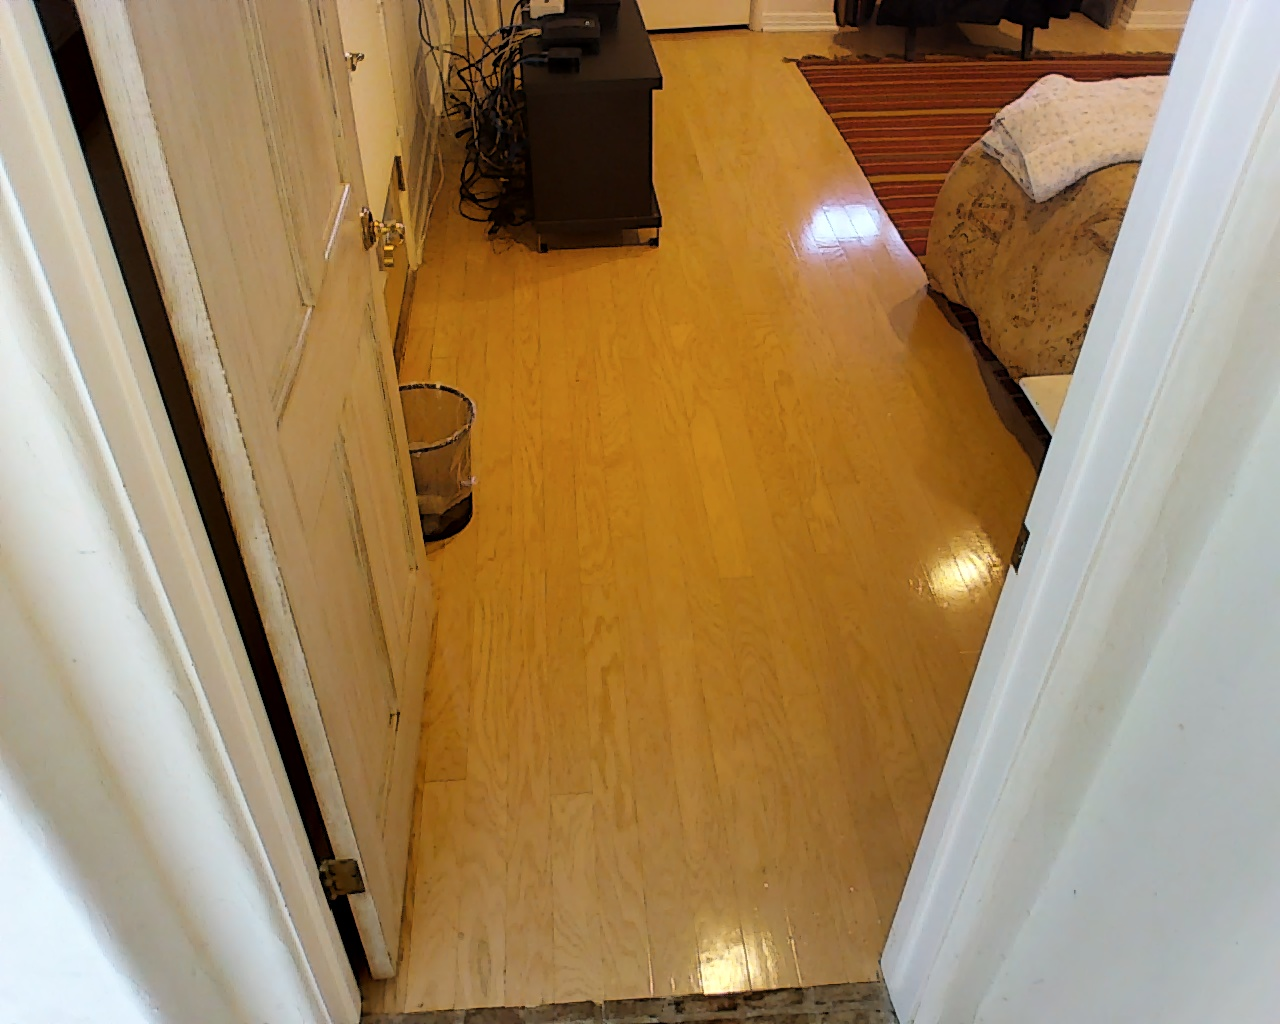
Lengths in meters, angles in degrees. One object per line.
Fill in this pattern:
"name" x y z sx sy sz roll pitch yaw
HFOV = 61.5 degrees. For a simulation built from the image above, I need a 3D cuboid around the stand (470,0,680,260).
"stand" -0.220 -1.440 3.770 0.610 0.580 1.210 -2 41 -2
